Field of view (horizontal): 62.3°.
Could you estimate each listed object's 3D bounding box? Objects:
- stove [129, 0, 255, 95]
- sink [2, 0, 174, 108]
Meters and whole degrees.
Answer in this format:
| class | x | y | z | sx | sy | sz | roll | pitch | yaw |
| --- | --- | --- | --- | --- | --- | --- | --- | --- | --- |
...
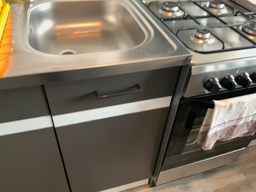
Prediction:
| class | x | y | z | sx | sy | sz | roll | pitch | yaw |
| --- | --- | --- | --- | --- | --- | --- | --- | --- | --- |
| stove | 0.340 | -0.290 | 0.910 | 0.500 | 0.120 | 0.620 | -9 | 44 | -15 |
| sink | -0.160 | -0.220 | 0.780 | 0.450 | 0.150 | 0.500 | -9 | 44 | -15 |
